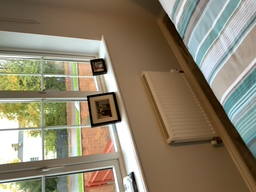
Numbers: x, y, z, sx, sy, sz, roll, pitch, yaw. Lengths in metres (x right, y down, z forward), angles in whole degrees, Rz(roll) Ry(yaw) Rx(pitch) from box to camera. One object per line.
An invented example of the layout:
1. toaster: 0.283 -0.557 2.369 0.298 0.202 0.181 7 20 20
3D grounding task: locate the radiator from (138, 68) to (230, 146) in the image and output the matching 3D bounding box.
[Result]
1. radiator: 0.450 0.050 1.830 0.080 0.540 0.760 113 148 -44

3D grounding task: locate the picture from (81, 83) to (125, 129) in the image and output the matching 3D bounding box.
1. picture: -0.210 0.070 1.730 0.350 0.230 0.130 60 145 35

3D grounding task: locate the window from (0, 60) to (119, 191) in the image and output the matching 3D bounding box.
1. window: -0.620 0.430 1.550 0.150 0.960 1.880 114 148 -44
